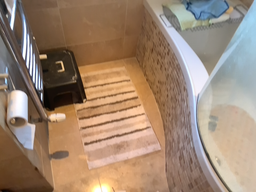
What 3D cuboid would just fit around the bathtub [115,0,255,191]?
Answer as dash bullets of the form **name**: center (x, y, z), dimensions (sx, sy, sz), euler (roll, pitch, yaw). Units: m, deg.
- **bathtub**: center (0.580, 0.060, 1.320), dimensions (0.890, 0.580, 1.620), euler (-12, 57, -14)
